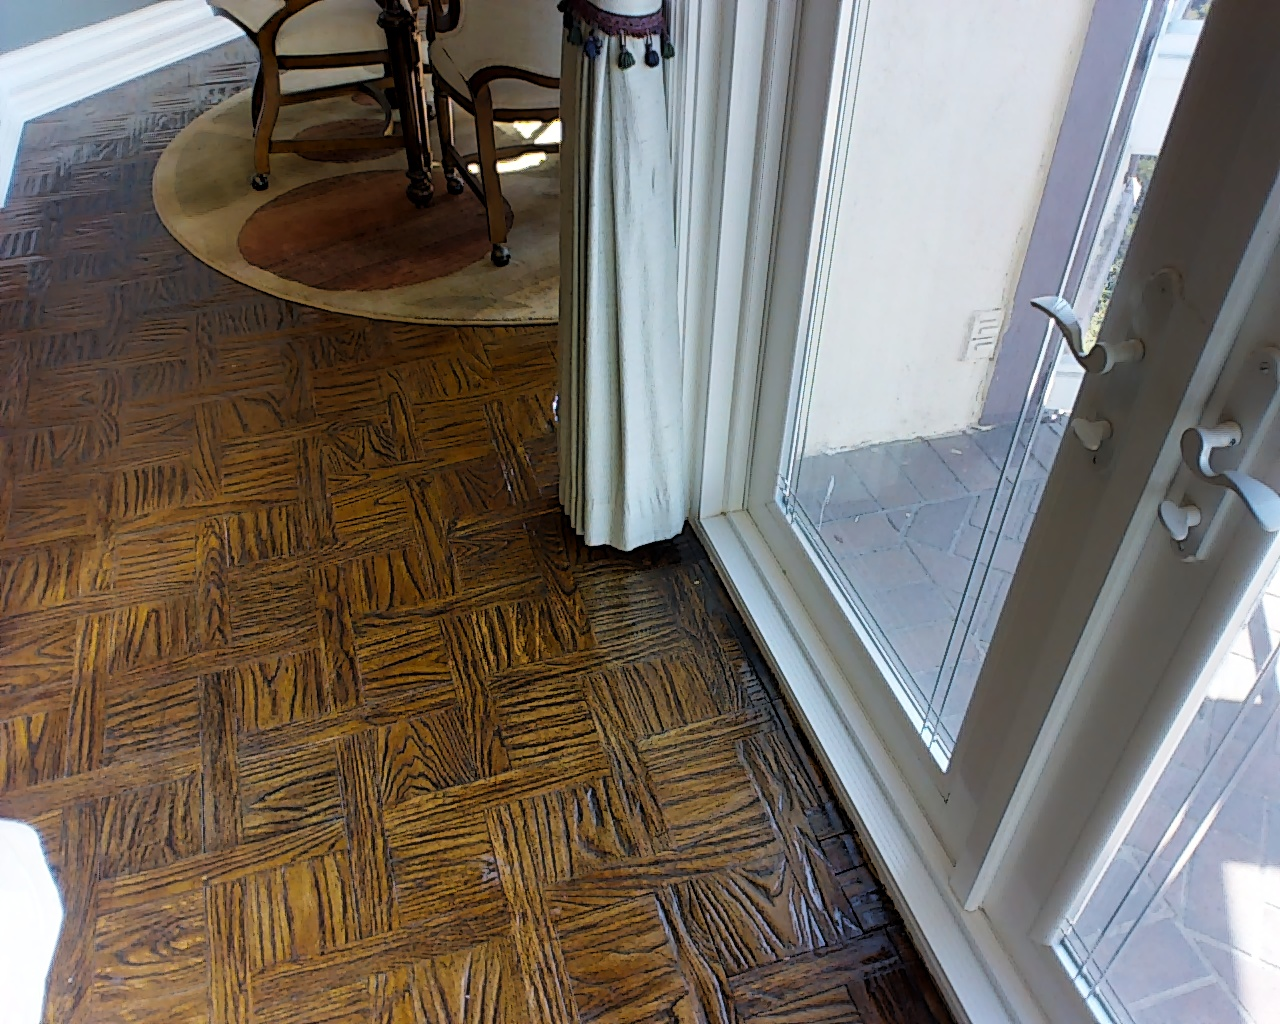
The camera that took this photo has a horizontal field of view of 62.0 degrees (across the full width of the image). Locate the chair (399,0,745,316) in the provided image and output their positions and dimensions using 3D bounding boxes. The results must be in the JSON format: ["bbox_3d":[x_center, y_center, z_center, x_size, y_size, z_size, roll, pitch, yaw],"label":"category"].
[{"bbox_3d":[-0.210,-1.200,2.800,0.780,1.060,0.710,-8,42,-9],"label":"chair"}]

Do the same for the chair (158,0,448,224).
[{"bbox_3d":[-1.040,-1.530,3.160,0.680,1.010,0.710,-13,43,-14],"label":"chair"}]
